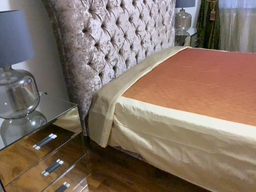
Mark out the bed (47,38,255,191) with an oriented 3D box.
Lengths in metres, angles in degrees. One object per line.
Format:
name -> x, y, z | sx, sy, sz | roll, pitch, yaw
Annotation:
bed -> 0.950, 0.090, 1.730 | 2.540, 0.610, 1.800 | 14, 32, 33

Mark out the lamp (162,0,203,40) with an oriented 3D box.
lamp -> 0.730, -1.120, 2.850 | 0.390, 0.600, 0.450 | 13, 32, 32
